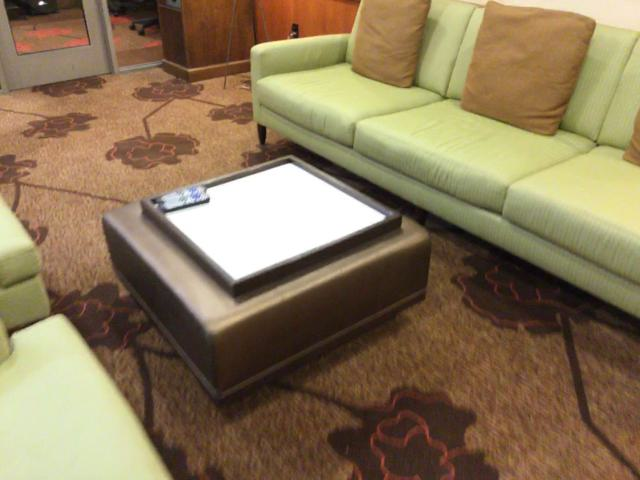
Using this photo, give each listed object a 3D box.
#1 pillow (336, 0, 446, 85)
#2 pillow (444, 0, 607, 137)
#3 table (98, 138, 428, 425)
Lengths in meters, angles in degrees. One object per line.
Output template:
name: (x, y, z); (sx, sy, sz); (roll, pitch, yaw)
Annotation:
pillow: (0.390, -1.240, 3.300); (0.310, 0.530, 0.550); (-22, 38, -32)
pillow: (0.920, -0.840, 2.680); (0.280, 0.530, 0.560); (-25, 40, -35)
table: (-0.230, 0.060, 2.190); (0.820, 0.470, 0.890); (-22, 38, -32)
